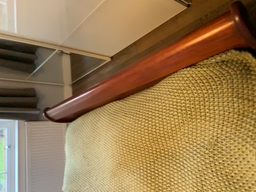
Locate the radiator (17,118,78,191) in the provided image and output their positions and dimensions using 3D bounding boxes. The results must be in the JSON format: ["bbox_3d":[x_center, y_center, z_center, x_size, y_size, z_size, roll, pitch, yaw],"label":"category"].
[{"bbox_3d":[-0.940,0.870,2.520,0.100,0.670,1.210,-18,74,46],"label":"radiator"}]
